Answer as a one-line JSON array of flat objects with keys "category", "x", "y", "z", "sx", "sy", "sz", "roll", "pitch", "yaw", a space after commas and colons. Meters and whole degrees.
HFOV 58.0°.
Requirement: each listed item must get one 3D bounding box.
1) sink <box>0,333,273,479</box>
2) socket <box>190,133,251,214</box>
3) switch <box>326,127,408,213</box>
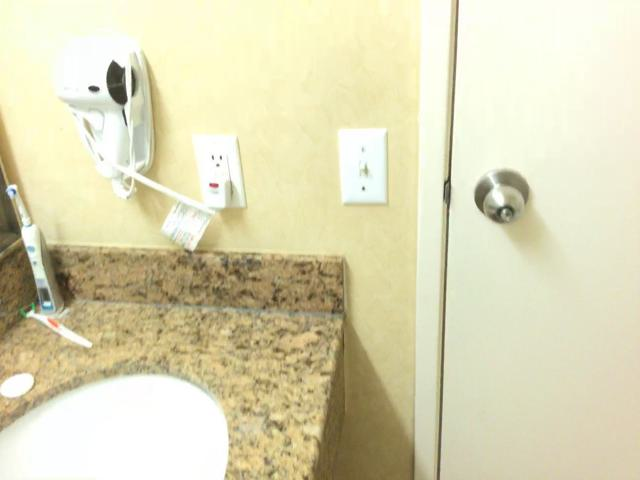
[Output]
[{"category": "sink", "x": -0.320, "y": 0.330, "z": 0.710, "sx": 0.410, "sy": 0.220, "sz": 0.420, "roll": -1, "pitch": 25, "yaw": 11}, {"category": "socket", "x": -0.150, "y": -0.100, "z": 0.880, "sx": 0.070, "sy": 0.120, "sz": 0.020, "roll": 0, "pitch": 25, "yaw": 11}, {"category": "switch", "x": 0.070, "y": -0.100, "z": 0.840, "sx": 0.110, "sy": 0.120, "sz": 0.020, "roll": 0, "pitch": 25, "yaw": 11}]
